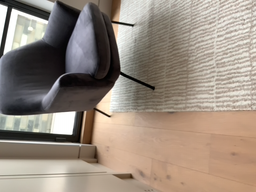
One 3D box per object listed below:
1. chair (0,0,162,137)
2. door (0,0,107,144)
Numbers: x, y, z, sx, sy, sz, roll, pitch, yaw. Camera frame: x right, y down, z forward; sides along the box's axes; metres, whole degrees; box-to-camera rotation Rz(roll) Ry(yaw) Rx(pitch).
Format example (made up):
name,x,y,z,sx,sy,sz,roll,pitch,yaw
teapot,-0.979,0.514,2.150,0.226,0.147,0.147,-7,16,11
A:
name,x,y,z,sx,sy,sz,roll,pitch,yaw
chair,-0.400,-0.220,1.460,0.750,0.820,0.710,-42,48,41
door,-1.230,-0.280,1.480,0.070,2.320,1.120,-7,75,54
